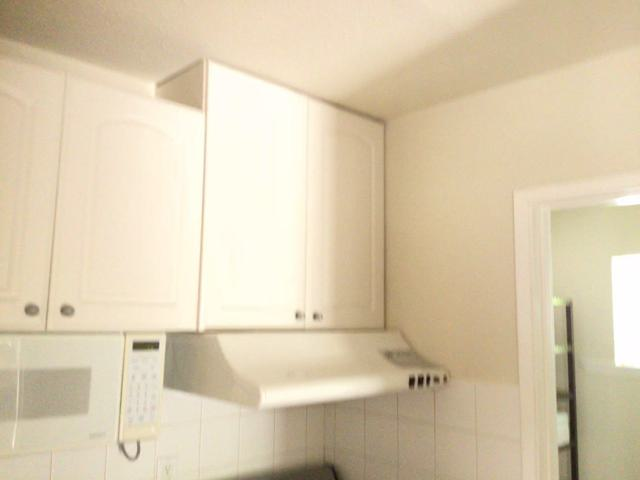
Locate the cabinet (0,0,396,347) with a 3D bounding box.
[{"bbox_3d":[-0.420,-0.120,1.670,1.530,0.780,0.330,5,-10,-43],"label":"cabinet"}]
